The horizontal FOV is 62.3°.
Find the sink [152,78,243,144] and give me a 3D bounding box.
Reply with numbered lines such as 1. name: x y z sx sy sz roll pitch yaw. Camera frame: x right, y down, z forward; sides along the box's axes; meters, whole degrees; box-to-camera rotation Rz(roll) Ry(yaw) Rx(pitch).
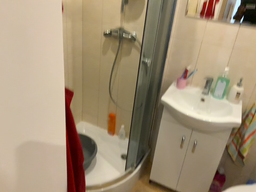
1. sink: 0.480 0.070 1.450 0.510 0.160 0.380 18 29 20

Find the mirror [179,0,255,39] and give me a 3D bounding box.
1. mirror: 0.660 -0.570 1.280 0.620 0.380 0.050 16 28 17
